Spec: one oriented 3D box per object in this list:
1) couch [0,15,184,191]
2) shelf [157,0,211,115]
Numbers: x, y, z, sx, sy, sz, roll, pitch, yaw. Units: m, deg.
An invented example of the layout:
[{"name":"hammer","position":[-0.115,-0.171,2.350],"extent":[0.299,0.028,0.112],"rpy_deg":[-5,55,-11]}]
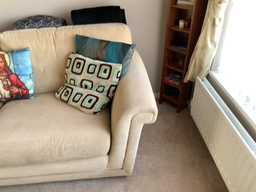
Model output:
[{"name":"couch","position":[-0.980,0.010,1.590],"extent":[2.410,0.880,1.090],"rpy_deg":[-3,34,-3]},{"name":"shelf","position":[0.480,-0.700,1.730],"extent":[0.270,1.890,0.240],"rpy_deg":[26,42,34]}]
